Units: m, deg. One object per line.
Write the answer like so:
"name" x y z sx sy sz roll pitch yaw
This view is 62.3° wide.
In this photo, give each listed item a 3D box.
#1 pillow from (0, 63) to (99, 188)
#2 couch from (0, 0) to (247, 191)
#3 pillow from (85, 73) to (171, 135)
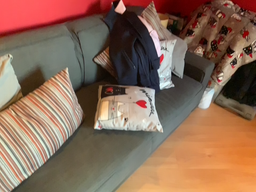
"pillow" -0.450 0.130 1.060 0.200 0.330 0.580 42 51 8
"couch" -0.150 -0.010 1.530 0.970 0.890 2.090 32 45 28
"pillow" -0.010 0.040 1.390 0.480 0.140 0.420 3 39 -5
